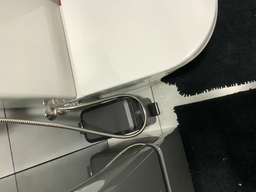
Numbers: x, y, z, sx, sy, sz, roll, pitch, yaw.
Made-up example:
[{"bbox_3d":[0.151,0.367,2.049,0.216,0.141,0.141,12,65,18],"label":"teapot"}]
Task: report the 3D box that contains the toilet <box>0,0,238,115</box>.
[{"bbox_3d":[-0.080,-0.210,0.690,0.650,0.830,0.390,-16,83,22],"label":"toilet"}]
